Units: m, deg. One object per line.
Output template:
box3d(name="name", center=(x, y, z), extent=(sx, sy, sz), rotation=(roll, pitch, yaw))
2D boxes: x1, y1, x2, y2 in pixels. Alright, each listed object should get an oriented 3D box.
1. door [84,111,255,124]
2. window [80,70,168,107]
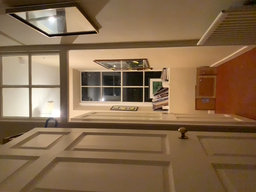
box3d(name="door", center=(0.530, 0.230, 2.370), extent=(0.780, 1.840, 0.030), rotation=(-7, -83, -81))
box3d(name="window", center=(-0.100, -0.150, 4.380), extent=(0.060, 1.820, 0.730), rotation=(-12, -78, -81))
